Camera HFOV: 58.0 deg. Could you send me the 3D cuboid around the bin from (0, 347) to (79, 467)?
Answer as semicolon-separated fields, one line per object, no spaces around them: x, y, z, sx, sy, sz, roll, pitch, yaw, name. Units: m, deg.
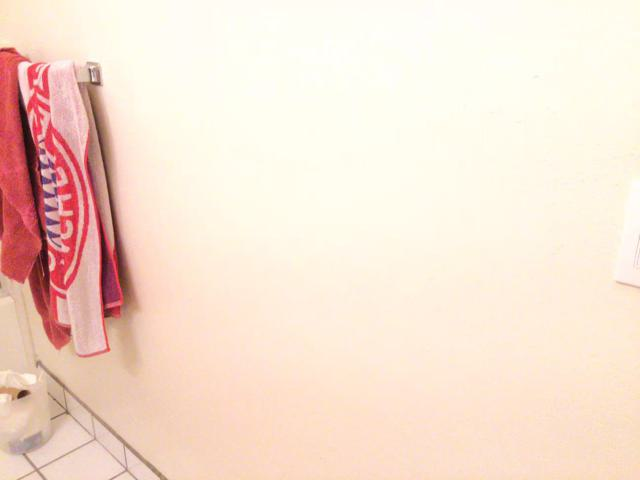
-0.990;0.550;1.940;0.240;0.250;0.210;16;28;41;bin
